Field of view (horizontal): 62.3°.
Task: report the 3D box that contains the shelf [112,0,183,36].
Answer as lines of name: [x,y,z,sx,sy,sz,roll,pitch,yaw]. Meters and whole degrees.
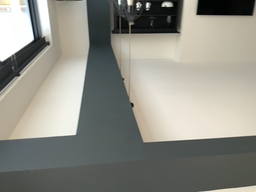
shelf: [0.370,-1.950,4.250,1.370,1.390,0.410,-3,-155,-7]
